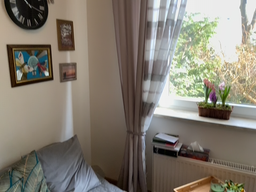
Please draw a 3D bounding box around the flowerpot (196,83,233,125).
[{"bbox_3d":[0.740,0.060,1.830,0.250,0.310,0.130,6,14,21],"label":"flowerpot"}]

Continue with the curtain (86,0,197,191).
[{"bbox_3d":[0.060,-0.280,1.780,0.900,3.020,0.130,8,15,27],"label":"curtain"}]
